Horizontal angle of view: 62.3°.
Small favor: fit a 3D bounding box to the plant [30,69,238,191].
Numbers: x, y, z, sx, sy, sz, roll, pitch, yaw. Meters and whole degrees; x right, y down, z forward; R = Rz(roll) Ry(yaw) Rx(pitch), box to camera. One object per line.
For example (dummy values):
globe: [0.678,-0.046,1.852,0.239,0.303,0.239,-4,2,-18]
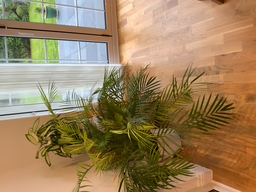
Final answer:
plant: [-0.090,0.220,1.660,1.330,1.030,0.790,7,101,58]
